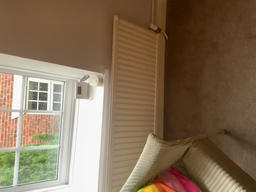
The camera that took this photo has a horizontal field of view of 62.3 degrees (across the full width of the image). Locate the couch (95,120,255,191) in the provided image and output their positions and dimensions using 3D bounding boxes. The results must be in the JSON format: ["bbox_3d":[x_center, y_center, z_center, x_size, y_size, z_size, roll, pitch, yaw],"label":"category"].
[{"bbox_3d":[0.340,0.610,1.160,0.650,0.760,0.680,48,119,41],"label":"couch"}]
